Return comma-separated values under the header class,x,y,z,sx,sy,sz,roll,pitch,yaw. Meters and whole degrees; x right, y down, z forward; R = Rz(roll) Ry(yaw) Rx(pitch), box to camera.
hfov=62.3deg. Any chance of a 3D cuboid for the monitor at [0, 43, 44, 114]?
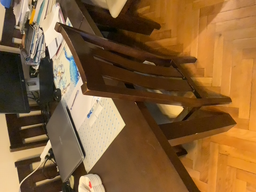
class,x,y,z,sx,sy,sz,roll,pitch,yaw
monitor,-0.920,-0.150,1.570,0.090,0.450,0.600,-50,53,40
